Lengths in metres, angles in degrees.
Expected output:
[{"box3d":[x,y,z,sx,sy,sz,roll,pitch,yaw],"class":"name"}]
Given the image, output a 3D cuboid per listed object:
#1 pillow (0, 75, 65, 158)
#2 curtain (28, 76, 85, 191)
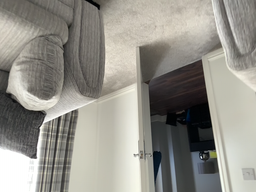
[{"box3d":[-0.700,0.160,1.320,0.340,0.410,0.450,-19,154,41],"class":"pillow"},{"box3d":[-0.810,0.900,2.430,0.260,2.230,0.520,-19,154,38],"class":"curtain"}]
